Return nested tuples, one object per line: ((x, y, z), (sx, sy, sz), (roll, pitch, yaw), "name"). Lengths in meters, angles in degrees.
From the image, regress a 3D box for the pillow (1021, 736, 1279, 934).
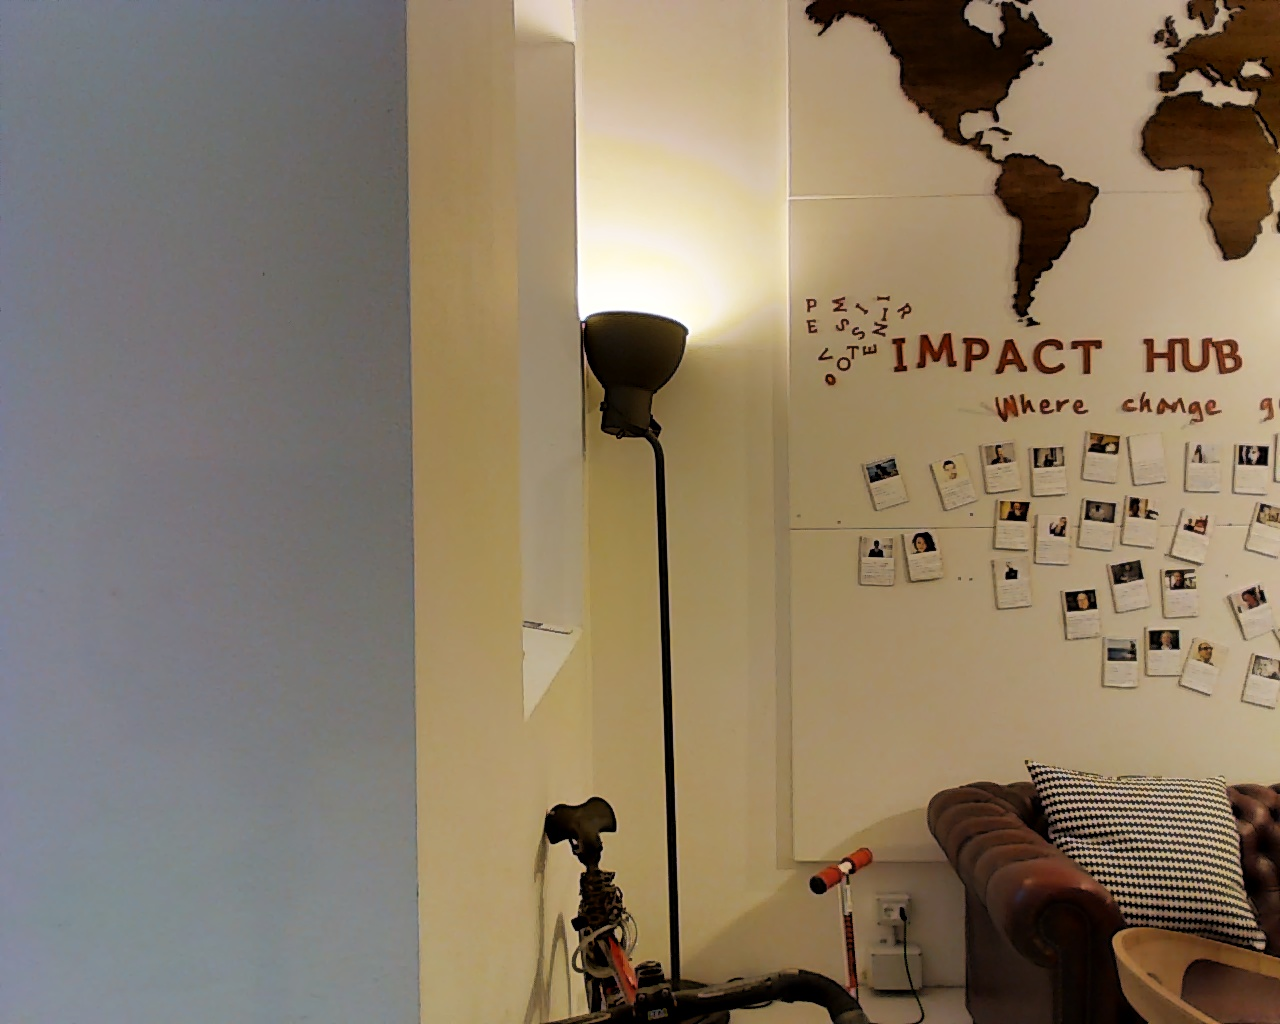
((1.330, 0.850, 2.800), (0.500, 0.200, 0.540), (9, -42, 5), "pillow")

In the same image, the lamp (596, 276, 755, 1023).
((0.100, 0.400, 3.150), (0.420, 2.111, 0.310), (-1, 0, 0), "lamp")

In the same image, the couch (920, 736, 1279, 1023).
((1.769, 1.040, 2.640), (1.949, 0.770, 0.970), (-1, 0, 5), "couch")
